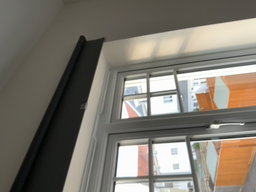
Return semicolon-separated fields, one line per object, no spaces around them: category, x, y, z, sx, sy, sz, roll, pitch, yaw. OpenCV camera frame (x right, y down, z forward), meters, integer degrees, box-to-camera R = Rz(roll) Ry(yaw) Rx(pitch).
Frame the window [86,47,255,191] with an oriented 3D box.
window;0.430;0.140;1.140;1.060;1.140;0.200;-85;-15;-49
